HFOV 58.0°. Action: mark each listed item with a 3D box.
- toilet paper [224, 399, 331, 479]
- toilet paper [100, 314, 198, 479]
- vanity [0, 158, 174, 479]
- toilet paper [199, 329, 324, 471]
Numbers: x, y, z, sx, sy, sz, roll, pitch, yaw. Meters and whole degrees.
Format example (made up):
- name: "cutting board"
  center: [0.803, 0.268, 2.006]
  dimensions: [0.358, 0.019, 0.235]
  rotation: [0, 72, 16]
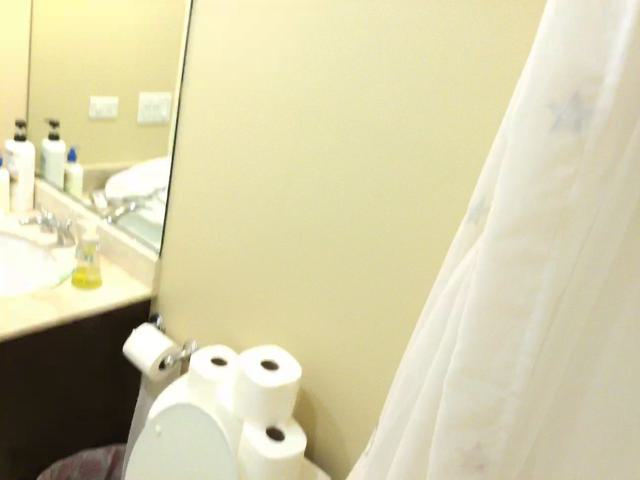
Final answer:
- name: "toilet paper"
  center: [-0.090, 0.450, 1.220]
  dimensions: [0.140, 0.120, 0.150]
  rotation: [28, 25, 31]
- name: "toilet paper"
  center: [-0.500, 0.550, 1.640]
  dimensions: [0.140, 0.670, 0.150]
  rotation: [28, 25, 31]
- name: "vanity"
  center: [-0.980, 0.340, 1.690]
  dimensions: [0.750, 0.930, 0.630]
  rotation: [28, 25, 31]
- name: "toilet paper"
  center: [-0.130, 0.340, 1.260]
  dimensions: [0.190, 0.190, 0.150]
  rotation: [28, 25, 31]
